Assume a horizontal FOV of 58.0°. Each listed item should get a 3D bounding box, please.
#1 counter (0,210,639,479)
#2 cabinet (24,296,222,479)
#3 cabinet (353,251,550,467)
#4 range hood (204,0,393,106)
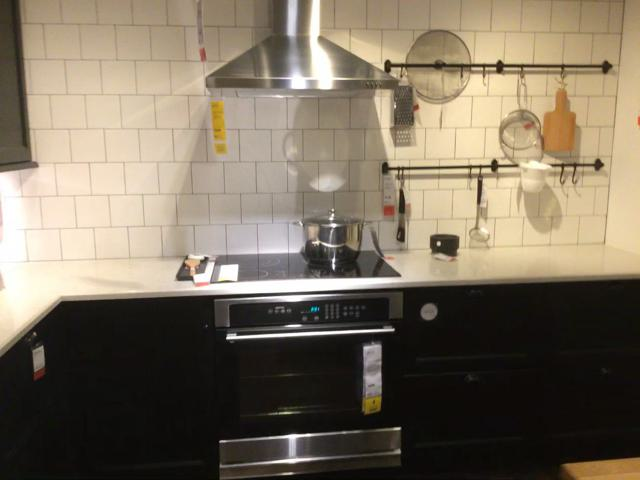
[{"bbox_3d":[0.130,0.340,0.890,3.010,0.260,3.890,-3,9,-7],"label":"counter"},{"bbox_3d":[-0.780,0.680,2.480,0.650,0.720,0.590,-3,9,-7],"label":"cabinet"},{"bbox_3d":[0.540,0.480,2.580,0.670,0.740,0.600,-3,9,-7],"label":"cabinet"},{"bbox_3d":[-0.110,-0.960,2.410,0.700,0.730,0.570,-3,9,-7],"label":"range hood"}]
